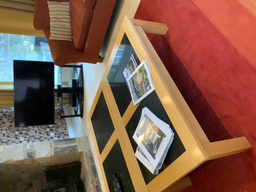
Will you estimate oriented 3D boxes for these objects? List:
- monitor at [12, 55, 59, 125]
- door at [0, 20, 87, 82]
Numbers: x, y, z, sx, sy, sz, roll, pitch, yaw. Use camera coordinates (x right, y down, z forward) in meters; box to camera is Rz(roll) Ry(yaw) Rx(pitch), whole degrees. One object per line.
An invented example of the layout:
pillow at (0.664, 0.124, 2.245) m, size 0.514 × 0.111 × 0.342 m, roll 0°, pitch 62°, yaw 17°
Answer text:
monitor at (-1.740, -0.110, 4.060) m, size 0.070 × 0.810 × 1.270 m, roll 9°, pitch 99°, yaw 60°
door at (-2.200, -0.800, 4.170) m, size 1.390 × 2.500 × 0.160 m, roll -60°, pitch 42°, yaw 44°
